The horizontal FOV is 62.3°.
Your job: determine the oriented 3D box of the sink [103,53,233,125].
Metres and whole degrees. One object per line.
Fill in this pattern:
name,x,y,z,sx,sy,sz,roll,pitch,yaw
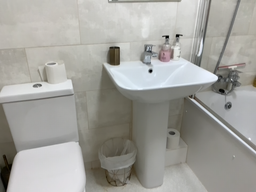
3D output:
sink,0.200,-0.080,1.270,0.610,0.190,0.440,-8,28,-16
